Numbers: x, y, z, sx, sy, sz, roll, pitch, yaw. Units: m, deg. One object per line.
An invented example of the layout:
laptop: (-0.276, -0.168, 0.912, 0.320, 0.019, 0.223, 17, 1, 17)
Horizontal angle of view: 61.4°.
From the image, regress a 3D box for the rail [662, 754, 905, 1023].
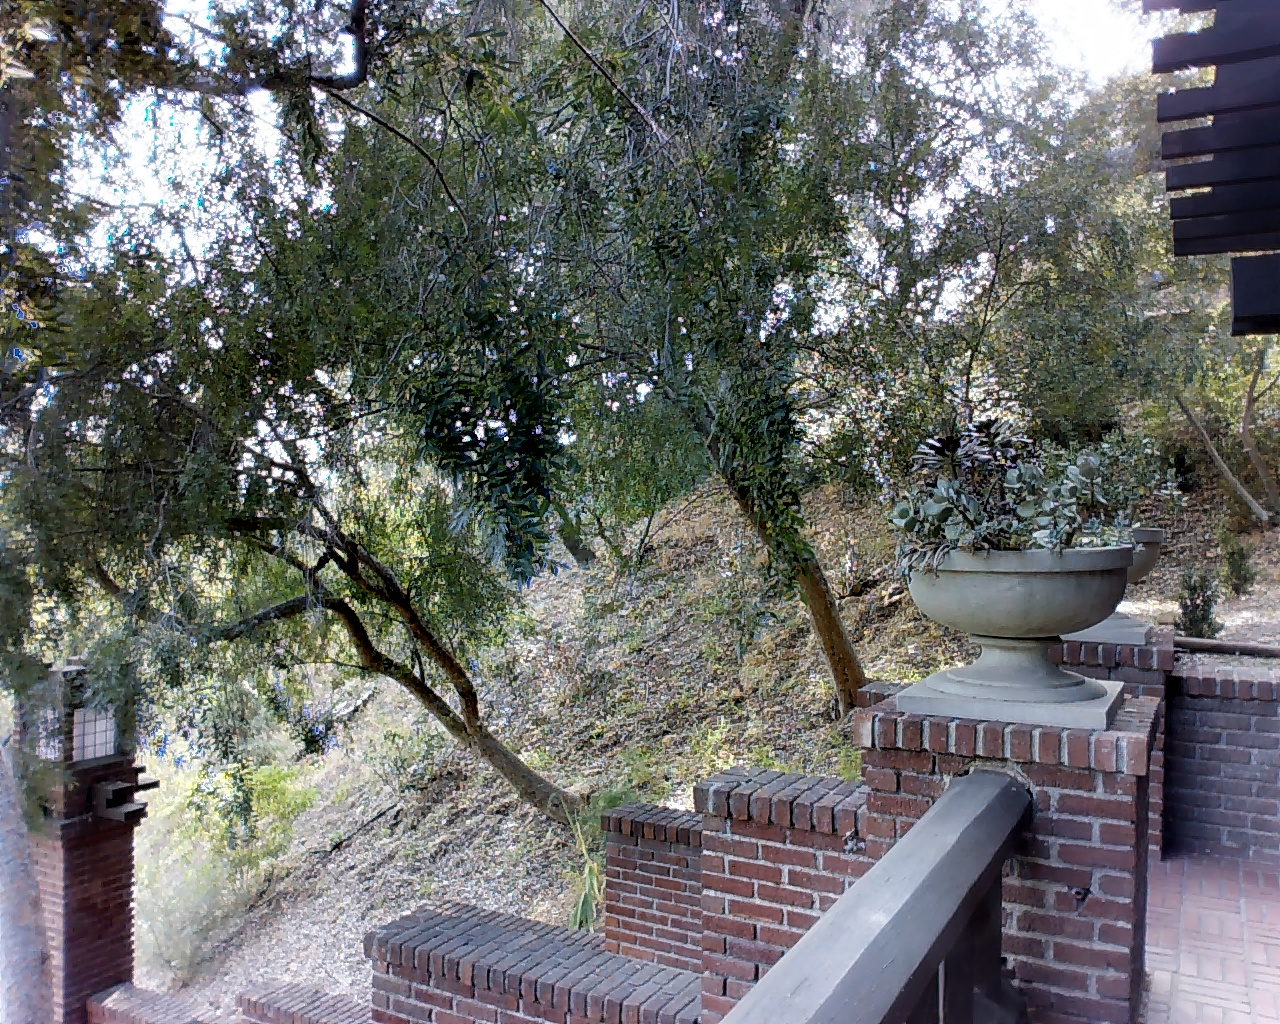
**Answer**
rail: (0.530, 1.410, 3.950, 0.750, 0.860, 0.480, 1, 0, 29)
